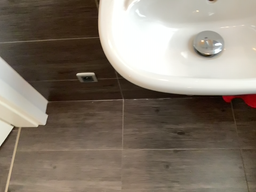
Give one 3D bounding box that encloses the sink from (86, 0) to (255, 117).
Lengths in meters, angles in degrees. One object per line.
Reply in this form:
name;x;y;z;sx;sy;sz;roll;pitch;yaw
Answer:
sink;0.180;-0.150;0.470;0.480;0.150;0.360;-1;66;5
